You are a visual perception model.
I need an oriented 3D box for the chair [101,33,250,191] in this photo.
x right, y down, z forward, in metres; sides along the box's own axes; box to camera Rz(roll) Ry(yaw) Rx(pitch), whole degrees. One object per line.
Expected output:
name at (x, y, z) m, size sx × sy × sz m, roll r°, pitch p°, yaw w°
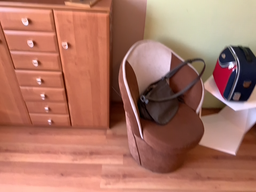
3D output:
chair at (0.240, 0.070, 1.630) m, size 0.640 × 0.770 × 0.770 m, roll -15°, pitch 42°, yaw -22°

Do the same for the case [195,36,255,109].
case at (0.790, -0.190, 1.600) m, size 0.360 × 0.330 × 0.490 m, roll 2°, pitch 39°, yaw -3°

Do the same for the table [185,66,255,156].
table at (0.880, 0.120, 1.850) m, size 0.550 × 0.500 × 0.580 m, roll 3°, pitch 39°, yaw -2°
